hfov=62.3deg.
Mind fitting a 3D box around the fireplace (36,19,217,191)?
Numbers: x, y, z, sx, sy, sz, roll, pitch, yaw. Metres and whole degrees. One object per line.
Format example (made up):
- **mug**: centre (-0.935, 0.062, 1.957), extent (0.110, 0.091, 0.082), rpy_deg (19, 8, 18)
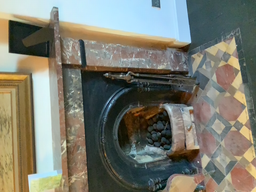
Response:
- **fireplace**: centre (0.020, 0.240, 1.520), extent (0.430, 1.140, 1.270), rpy_deg (-14, 80, 57)
